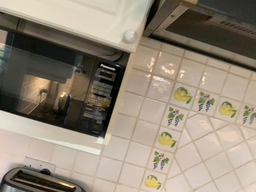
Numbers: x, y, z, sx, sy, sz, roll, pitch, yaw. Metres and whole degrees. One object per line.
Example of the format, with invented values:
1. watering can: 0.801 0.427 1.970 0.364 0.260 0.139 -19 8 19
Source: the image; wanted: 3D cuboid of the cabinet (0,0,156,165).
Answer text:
1. cabinet: -0.200 -0.360 0.760 0.560 1.010 0.320 17 7 -4
